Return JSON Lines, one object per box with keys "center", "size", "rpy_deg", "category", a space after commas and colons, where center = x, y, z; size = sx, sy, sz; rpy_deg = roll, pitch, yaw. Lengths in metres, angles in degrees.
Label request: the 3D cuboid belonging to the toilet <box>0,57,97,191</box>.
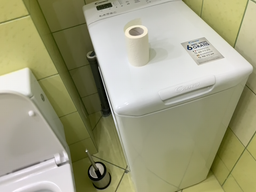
{"center": [-0.380, 0.390, 0.840], "size": [0.380, 0.800, 0.610], "rpy_deg": [-19, 50, -8], "category": "toilet"}
